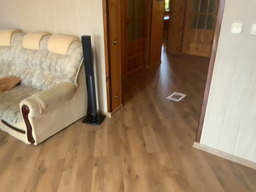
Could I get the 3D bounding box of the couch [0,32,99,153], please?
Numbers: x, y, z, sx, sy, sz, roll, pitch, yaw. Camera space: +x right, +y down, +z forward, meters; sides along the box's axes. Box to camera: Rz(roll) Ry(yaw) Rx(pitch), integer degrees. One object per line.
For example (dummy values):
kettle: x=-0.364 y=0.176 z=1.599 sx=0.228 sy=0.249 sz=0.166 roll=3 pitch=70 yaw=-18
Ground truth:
couch: x=-1.180 y=-0.180 z=2.680 sx=1.150 sy=1.000 sz=1.050 roll=16 pitch=29 yaw=30
